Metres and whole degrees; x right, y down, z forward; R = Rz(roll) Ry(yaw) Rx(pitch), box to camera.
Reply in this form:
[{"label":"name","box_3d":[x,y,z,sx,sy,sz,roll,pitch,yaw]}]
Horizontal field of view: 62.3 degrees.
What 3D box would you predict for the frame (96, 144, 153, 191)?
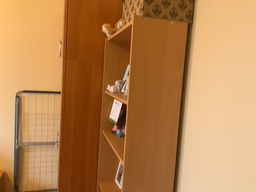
[{"label":"frame","box_3d":[-0.050,0.510,1.300,0.210,0.270,0.470,2,6,-17]}]
